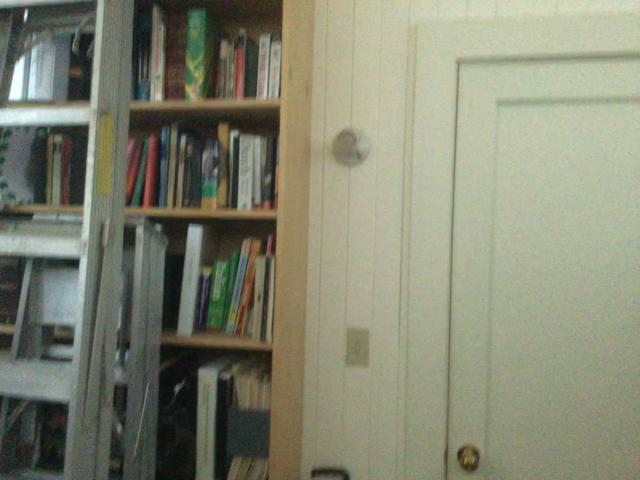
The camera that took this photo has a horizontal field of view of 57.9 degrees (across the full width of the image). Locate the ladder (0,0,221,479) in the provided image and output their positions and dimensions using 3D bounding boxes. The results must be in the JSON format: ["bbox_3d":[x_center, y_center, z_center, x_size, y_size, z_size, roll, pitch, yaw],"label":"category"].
[{"bbox_3d":[-0.680,0.260,1.340,0.580,2.400,0.450,2,-11,10],"label":"ladder"}]
